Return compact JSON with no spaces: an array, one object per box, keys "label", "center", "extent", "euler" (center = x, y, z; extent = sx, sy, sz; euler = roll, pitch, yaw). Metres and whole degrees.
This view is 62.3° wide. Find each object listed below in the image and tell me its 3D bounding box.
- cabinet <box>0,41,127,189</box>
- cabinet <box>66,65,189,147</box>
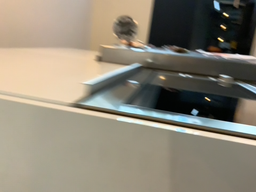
[{"label":"cabinet","center":[-0.310,0.030,1.230],"extent":[0.630,0.420,0.610],"euler":[-48,-33,-73]},{"label":"cabinet","center":[0.080,-0.020,2.130],"extent":[1.250,0.870,0.370],"euler":[-48,-33,-73]}]
